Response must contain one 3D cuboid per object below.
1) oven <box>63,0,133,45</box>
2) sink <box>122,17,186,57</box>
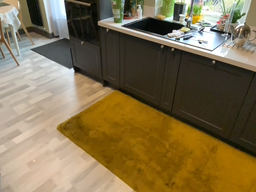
[{"bbox_3d":[-0.370,-1.030,2.730,0.620,0.440,0.600,27,42,31],"label":"oven"},{"bbox_3d":[0.270,-0.660,2.300,0.510,0.210,0.440,27,42,31],"label":"sink"}]
